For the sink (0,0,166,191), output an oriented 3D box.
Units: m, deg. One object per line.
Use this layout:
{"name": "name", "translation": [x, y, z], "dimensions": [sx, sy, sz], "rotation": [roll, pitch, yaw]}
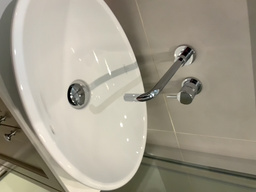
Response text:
{"name": "sink", "translation": [-0.100, -0.010, 0.590], "dimensions": [0.400, 0.120, 0.590], "rotation": [-46, 126, -42]}
